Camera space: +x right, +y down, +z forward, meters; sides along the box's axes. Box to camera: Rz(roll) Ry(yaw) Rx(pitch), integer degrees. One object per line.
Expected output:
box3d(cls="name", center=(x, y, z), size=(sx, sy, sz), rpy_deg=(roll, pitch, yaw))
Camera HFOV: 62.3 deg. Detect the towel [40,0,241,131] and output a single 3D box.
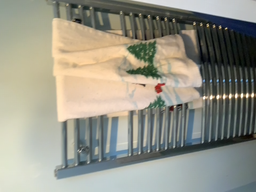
box3d(cls="towel", center=(0.060, -0.100, 0.740), size=(0.260, 0.650, 0.340), rpy_deg=(0, 92, 63))
